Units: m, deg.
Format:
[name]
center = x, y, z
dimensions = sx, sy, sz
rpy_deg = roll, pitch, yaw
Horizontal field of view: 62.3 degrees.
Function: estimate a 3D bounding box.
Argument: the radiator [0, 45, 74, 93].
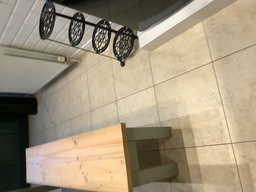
[radiator]
center = -1.250, -0.250, 2.520
dimensions = 1.120, 0.750, 0.110
rpy_deg = -20, 73, 46
